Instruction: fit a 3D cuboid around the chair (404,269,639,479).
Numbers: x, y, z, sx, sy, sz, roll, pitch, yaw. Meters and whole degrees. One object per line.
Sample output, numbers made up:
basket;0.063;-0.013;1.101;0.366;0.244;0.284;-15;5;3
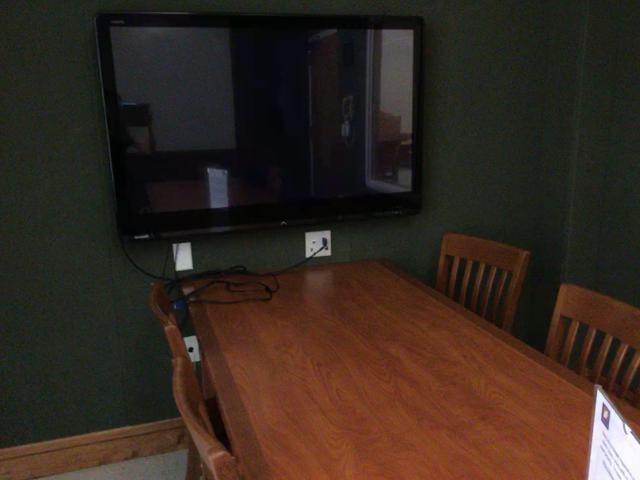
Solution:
chair;0.620;0.600;1.670;0.570;0.880;0.480;-7;12;-18

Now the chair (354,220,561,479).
chair;0.540;0.410;2.350;0.560;0.860;0.560;-9;13;-27
